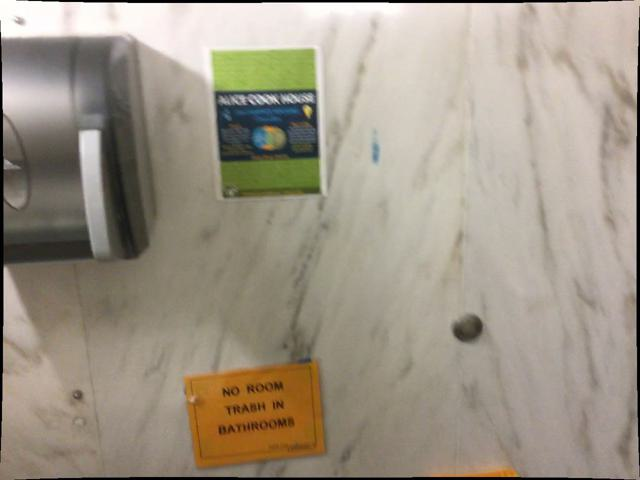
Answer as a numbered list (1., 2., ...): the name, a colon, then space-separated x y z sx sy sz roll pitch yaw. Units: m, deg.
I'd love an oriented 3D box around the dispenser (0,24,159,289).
1. dispenser: -0.470 -0.140 0.940 0.320 0.360 0.290 -4 15 -6
